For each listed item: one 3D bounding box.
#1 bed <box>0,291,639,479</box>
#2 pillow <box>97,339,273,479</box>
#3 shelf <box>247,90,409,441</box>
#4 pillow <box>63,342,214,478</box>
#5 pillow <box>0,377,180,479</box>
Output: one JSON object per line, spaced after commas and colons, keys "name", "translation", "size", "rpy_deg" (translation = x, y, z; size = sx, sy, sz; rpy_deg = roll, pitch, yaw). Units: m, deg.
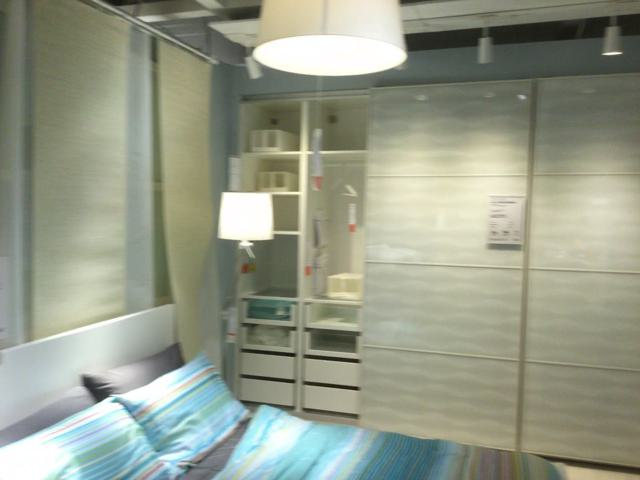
{"name": "bed", "translation": [-0.200, 0.920, 2.010], "size": [2.210, 0.960, 1.680], "rpy_deg": [5, 7, 24]}
{"name": "pillow", "translation": [-0.580, 0.760, 2.630], "size": [0.430, 0.200, 0.690], "rpy_deg": [49, 22, 13]}
{"name": "shelf", "translation": [0.040, 0.140, 4.020], "size": [0.960, 2.240, 0.480], "rpy_deg": [5, 11, 24]}
{"name": "pillow", "translation": [-0.820, 0.760, 2.730], "size": [0.240, 0.350, 0.740], "rpy_deg": [5, 7, 24]}
{"name": "pillow", "translation": [-0.880, 0.800, 1.990], "size": [0.160, 0.430, 0.720], "rpy_deg": [-43, -13, 22]}
